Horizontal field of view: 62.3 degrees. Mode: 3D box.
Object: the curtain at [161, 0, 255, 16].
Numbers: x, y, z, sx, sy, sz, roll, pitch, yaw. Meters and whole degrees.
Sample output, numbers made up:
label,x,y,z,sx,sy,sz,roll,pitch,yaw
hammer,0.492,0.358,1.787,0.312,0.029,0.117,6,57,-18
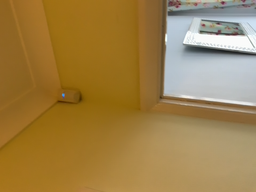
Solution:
label,x,y,z,sx,sy,sz,roll,pitch,yaw
curtain,1.470,-1.380,2.990,0.260,1.950,0.440,-56,-32,-55
